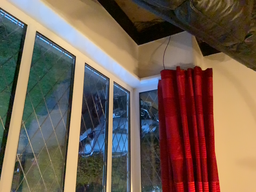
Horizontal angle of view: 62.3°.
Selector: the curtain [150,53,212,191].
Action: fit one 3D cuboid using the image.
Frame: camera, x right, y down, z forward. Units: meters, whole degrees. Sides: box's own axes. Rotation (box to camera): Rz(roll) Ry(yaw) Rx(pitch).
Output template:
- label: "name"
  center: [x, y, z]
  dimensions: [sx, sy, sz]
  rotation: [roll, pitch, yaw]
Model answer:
- label: "curtain"
  center: [0.480, 0.520, 1.870]
  dimensions: [0.380, 1.730, 0.400]
  rotation: [-9, 159, 24]
